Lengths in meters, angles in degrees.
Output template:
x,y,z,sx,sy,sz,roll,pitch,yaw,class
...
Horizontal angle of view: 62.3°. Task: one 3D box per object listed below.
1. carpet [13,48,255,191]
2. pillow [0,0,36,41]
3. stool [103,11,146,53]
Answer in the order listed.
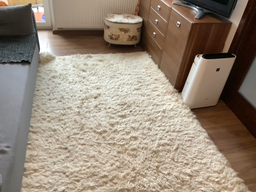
x,y,z,sx,sy,sz,roll,pitch,yaw,class
-0.150,0.130,2.070,1.600,0.070,2.380,-6,40,-16,carpet
-1.320,-0.780,2.190,0.620,0.360,0.190,-4,40,-14,pillow
-0.080,-0.940,3.120,0.530,0.430,0.460,-2,39,-12,stool
